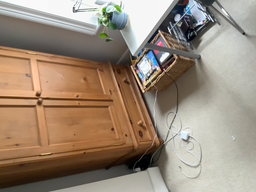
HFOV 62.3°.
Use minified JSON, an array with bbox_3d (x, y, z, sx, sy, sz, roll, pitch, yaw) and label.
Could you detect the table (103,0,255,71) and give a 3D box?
[{"bbox_3d":[0.460,-0.780,1.470,1.000,0.750,0.630,-49,52,39],"label":"table"}]
